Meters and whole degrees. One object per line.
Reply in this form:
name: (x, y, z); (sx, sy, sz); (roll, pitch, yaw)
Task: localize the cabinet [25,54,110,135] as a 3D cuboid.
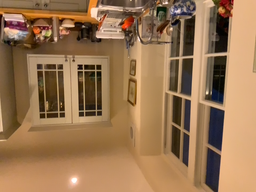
cabinet: (-0.800, -0.050, 2.970); (1.050, 1.040, 0.340); (-2, -171, -13)

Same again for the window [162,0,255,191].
window: (0.700, -0.030, 2.000); (0.120, 1.690, 1.420); (-2, -170, -15)
